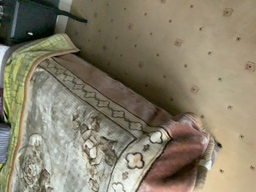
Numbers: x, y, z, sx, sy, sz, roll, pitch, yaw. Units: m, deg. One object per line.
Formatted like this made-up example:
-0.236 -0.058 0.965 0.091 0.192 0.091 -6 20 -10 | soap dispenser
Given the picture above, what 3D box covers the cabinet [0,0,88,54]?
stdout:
-0.850 -0.700 2.060 0.420 0.730 0.380 32 111 38 | cabinet
